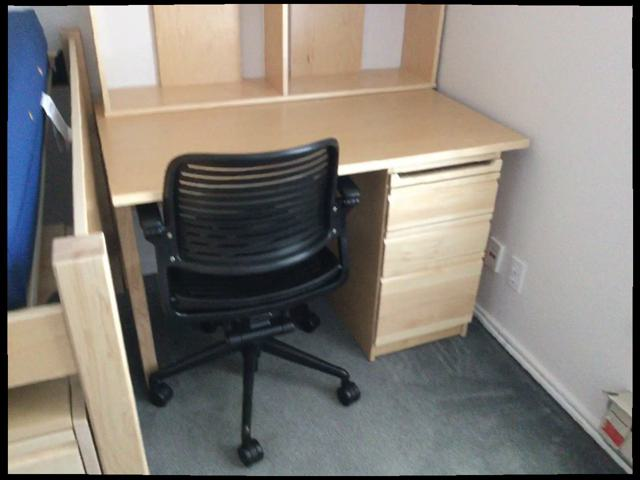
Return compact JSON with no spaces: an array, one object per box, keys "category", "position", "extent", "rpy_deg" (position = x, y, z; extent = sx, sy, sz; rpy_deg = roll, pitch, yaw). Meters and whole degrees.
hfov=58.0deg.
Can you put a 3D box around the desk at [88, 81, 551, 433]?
[{"category":"desk","position":[-0.040,-0.020,2.000],"extent":[1.298,0.821,0.640],"rpy_deg":[-9,33,-19]}]
